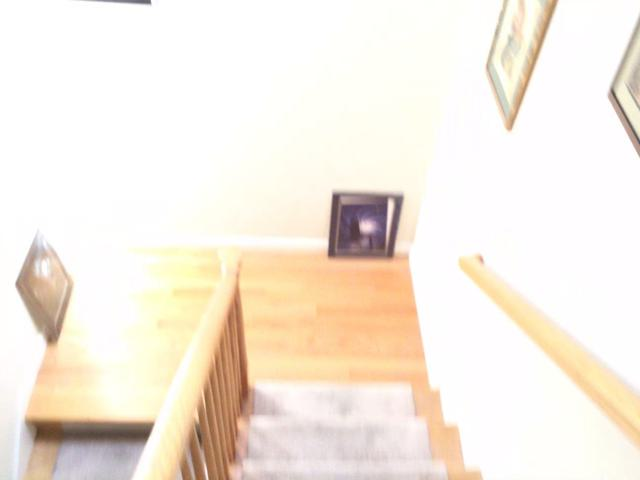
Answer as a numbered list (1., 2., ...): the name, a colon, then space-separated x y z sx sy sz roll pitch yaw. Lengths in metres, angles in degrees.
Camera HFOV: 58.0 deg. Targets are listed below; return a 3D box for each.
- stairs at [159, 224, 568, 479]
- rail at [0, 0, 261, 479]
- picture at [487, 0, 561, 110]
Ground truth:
1. stairs: 0.090 0.870 1.980 1.070 1.010 1.640 0 42 -4
2. rail: -0.280 0.480 1.520 0.160 1.730 1.680 0 42 -4
3. picture: 0.650 -0.700 1.870 0.020 0.400 0.400 0 42 -4
